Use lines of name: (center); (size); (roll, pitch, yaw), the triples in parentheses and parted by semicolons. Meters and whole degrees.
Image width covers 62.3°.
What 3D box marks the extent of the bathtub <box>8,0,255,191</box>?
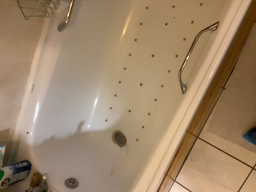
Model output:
bathtub: (0.110, -0.240, 0.980); (0.710, 0.560, 1.710); (29, 106, 23)
